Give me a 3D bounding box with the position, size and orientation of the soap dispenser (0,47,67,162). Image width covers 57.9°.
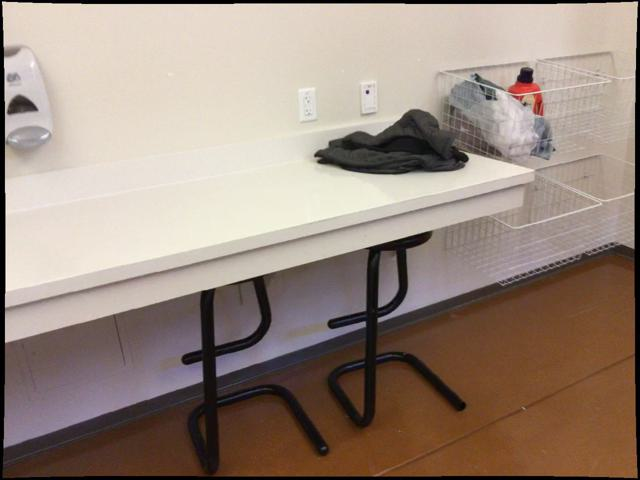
[{"bbox_3d":[-0.839,-0.380,1.610,0.180,0.280,0.120,-15,25,-24],"label":"soap dispenser"}]
